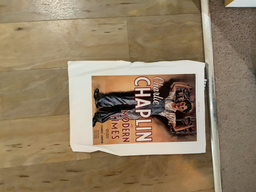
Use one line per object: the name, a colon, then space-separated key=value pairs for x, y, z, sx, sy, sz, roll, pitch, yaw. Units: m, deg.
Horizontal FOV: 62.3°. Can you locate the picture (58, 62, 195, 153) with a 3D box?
picture: x=0.000 y=0.020 z=0.450 sx=0.270 sy=0.040 sz=0.170 roll=-3 pitch=91 yaw=-6
